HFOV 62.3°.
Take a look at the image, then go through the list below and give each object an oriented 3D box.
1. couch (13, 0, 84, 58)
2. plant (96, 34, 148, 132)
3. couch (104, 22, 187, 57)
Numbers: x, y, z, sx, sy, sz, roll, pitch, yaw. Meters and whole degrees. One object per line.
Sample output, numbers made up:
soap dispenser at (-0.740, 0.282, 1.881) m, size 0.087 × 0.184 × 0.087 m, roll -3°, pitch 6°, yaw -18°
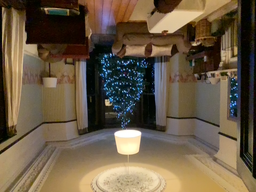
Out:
couch at (-1.280, -1.270, 3.800) m, size 0.860 × 0.940 × 1.620 m, roll -1°, pitch -177°, yaw -9°
plant at (-0.260, -0.450, 7.670) m, size 1.620 × 3.150 × 1.390 m, roll -1°, pitch -177°, yaw -12°
couch at (0.420, -1.500, 5.830) m, size 2.080 × 0.710 × 0.960 m, roll -1°, pitch -177°, yaw -9°
